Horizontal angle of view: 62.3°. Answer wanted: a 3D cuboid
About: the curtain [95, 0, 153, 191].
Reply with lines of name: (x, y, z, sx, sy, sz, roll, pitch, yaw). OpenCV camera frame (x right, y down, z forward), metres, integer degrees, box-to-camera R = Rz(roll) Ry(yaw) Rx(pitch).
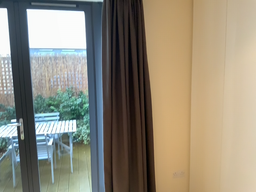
curtain: (-0.020, 0.210, 1.950, 0.430, 2.400, 0.210, -4, 8, -12)
